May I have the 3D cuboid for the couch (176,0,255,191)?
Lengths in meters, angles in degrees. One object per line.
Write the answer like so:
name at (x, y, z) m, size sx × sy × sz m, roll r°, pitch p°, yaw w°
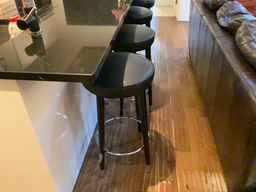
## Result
couch at (1.070, -0.350, 1.830) m, size 0.990 × 0.790 × 2.330 m, roll 2°, pitch 36°, yaw 5°

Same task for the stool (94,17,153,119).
stool at (-0.010, -0.220, 1.730) m, size 0.380 × 0.700 × 0.430 m, roll 1°, pitch 36°, yaw 3°

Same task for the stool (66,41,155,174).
stool at (-0.060, 0.080, 1.300) m, size 0.390 × 0.710 × 0.410 m, roll 1°, pitch 36°, yaw 3°

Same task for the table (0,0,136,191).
table at (-0.400, -0.450, 1.910) m, size 0.910 × 0.880 × 2.520 m, roll 1°, pitch 36°, yaw 3°
